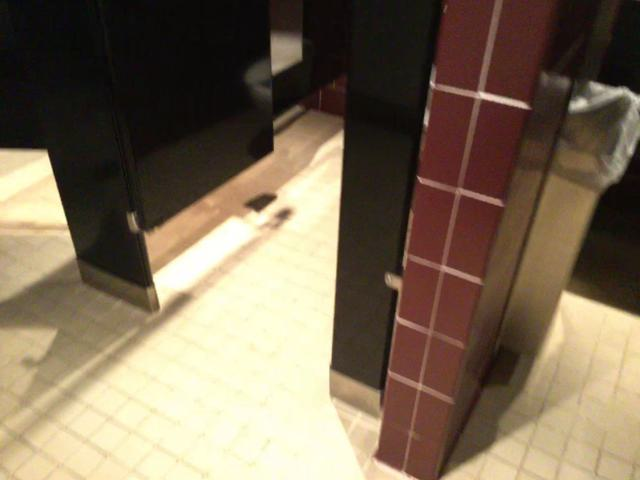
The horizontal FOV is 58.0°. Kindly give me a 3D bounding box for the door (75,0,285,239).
[{"bbox_3d":[-0.310,-0.760,1.290,0.080,1.460,0.610,20,40,25],"label":"door"}]
